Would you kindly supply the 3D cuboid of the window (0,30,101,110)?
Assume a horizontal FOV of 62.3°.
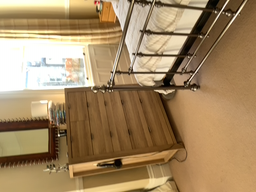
[{"bbox_3d":[-1.540,-0.420,3.190,0.360,2.070,1.200,114,149,-52],"label":"window"}]
